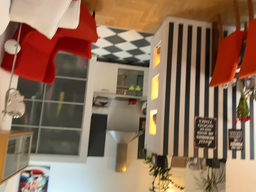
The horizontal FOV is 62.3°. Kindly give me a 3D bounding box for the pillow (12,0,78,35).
[{"bbox_3d":[-0.680,-0.750,1.750,0.460,0.420,0.150,-7,-157,-7],"label":"pillow"}]

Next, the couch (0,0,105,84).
[{"bbox_3d":[-0.940,-0.730,2.650,1.010,0.990,0.800,2,171,13],"label":"couch"}]
